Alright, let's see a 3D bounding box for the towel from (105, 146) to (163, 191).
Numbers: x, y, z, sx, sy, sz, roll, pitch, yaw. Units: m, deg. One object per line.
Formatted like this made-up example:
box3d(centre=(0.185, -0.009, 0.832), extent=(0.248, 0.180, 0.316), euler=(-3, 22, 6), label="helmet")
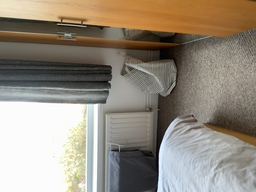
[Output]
box3d(centre=(0.060, 0.790, 2.190), extent=(0.140, 0.570, 0.470), euler=(-168, 80, -70), label="towel")
